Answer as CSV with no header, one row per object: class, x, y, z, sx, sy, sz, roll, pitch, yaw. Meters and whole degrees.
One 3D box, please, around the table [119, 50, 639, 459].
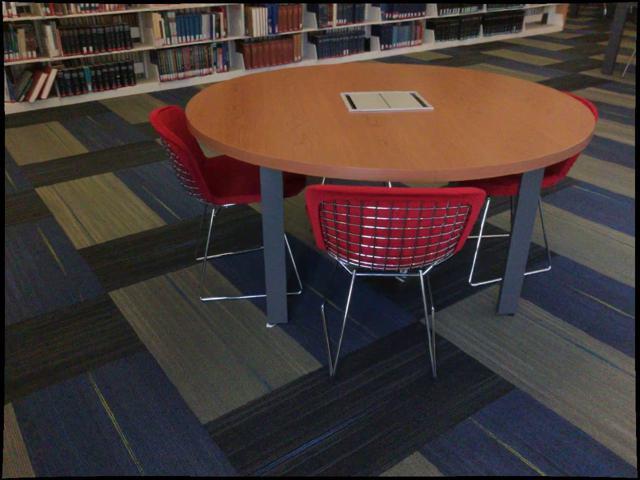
table,0.229,-0.201,2.440,1.498,0.772,1.499,-22,35,-33
